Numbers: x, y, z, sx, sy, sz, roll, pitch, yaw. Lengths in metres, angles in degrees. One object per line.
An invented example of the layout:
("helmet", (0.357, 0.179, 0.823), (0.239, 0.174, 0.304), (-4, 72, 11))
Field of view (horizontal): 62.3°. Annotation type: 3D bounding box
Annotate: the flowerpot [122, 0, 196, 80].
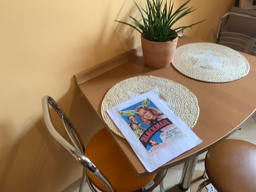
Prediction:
("flowerpot", (0.130, -0.320, 0.950), (0.210, 0.390, 0.220), (-29, 48, -27))
